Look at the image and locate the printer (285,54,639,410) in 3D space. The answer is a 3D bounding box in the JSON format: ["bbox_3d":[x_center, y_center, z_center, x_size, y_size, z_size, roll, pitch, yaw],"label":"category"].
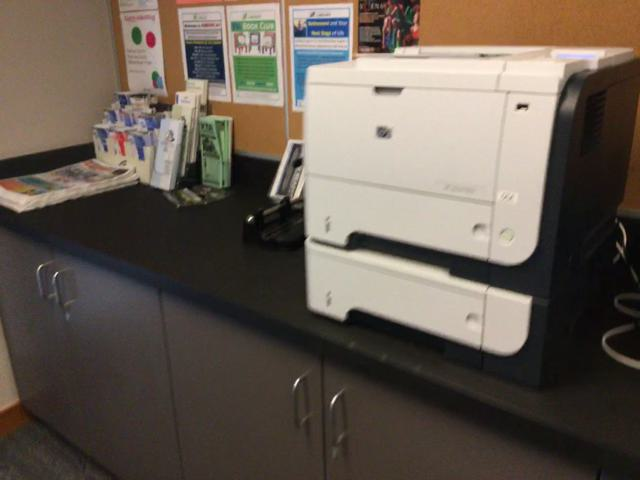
[{"bbox_3d":[0.310,-0.100,1.060,0.490,0.450,0.560,16,23,40],"label":"printer"}]
